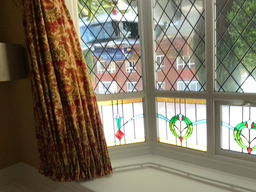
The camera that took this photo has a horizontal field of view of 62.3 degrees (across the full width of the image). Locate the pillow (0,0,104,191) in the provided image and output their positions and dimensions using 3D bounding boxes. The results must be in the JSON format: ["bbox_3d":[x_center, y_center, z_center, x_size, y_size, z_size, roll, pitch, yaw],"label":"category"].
[{"bbox_3d":[-0.660,-0.580,1.680,0.600,2.600,0.520,-2,-171,9],"label":"pillow"}]
